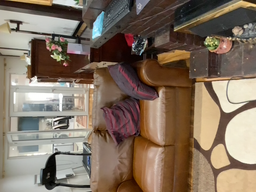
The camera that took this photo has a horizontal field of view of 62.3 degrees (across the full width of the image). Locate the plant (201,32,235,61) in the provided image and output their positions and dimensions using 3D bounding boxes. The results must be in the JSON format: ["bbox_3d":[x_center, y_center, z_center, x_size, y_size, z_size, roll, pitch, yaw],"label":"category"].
[{"bbox_3d":[0.680,-0.370,1.610,0.160,0.180,0.170,-178,90,-67],"label":"plant"}]

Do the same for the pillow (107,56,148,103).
[{"bbox_3d":[-0.020,-0.140,2.120,0.470,0.240,0.410,179,92,-67],"label":"pillow"}]

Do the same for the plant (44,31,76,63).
[{"bbox_3d":[-1.040,-0.730,3.230,0.350,0.430,0.380,-177,88,-67],"label":"plant"}]

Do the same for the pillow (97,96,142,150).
[{"bbox_3d":[-0.090,0.290,2.300,0.170,0.350,0.470,46,-154,-80],"label":"pillow"}]
